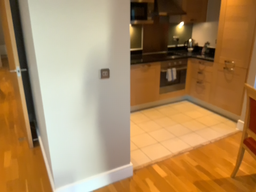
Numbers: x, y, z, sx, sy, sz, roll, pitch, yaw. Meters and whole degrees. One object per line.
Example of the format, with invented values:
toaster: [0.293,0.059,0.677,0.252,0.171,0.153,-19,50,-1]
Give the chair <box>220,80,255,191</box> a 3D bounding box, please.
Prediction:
chair: [1.260,0.400,1.910,0.520,0.980,0.500,1,20,2]
